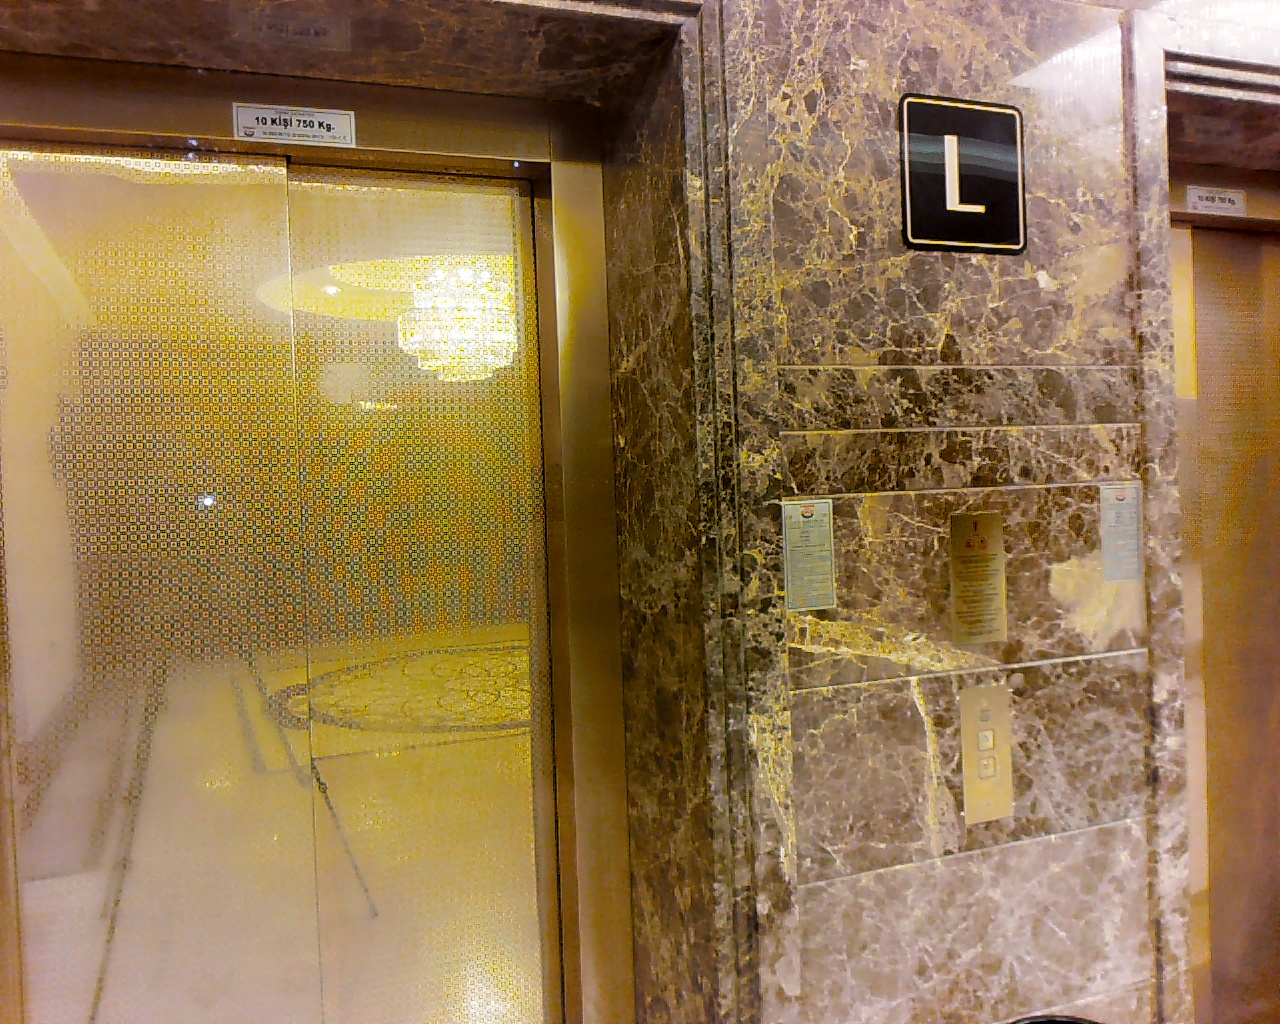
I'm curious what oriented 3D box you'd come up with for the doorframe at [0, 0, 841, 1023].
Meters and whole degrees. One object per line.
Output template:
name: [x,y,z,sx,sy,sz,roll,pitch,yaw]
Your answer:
doorframe: [-0.330,0.360,1.490,1.260,2.331,0.190,-3,1,-22]
